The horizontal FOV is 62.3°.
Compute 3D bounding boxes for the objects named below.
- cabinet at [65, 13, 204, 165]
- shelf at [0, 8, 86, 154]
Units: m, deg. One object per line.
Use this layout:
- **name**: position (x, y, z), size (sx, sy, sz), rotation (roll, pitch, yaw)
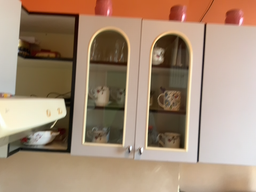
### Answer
- **cabinet**: position (0.030, -0.030, 1.140), size (0.610, 0.670, 0.320), rotation (3, -1, -2)
- **shelf**: position (-0.470, -0.070, 1.140), size (0.400, 0.670, 0.280), rotation (3, -1, -2)
